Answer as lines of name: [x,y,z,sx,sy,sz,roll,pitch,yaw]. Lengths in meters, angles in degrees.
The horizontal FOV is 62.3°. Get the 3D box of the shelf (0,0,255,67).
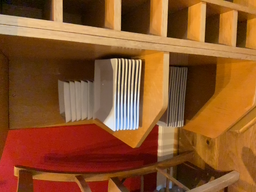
shelf: [0.020,-0.200,0.720,0.570,0.860,0.150,13,102,63]
